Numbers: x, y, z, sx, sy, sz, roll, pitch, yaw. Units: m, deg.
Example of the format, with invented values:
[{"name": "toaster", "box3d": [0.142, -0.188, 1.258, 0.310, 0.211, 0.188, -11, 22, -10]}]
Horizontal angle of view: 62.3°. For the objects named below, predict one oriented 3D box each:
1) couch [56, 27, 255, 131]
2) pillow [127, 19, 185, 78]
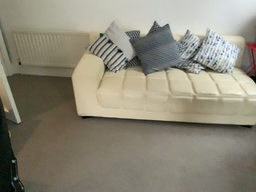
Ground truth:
[{"name": "couch", "box3d": [0.380, -0.270, 2.500, 2.020, 0.710, 1.010, 4, 33, 4]}, {"name": "pillow", "box3d": [0.320, -0.530, 2.430, 0.480, 0.450, 0.150, -31, 26, 23]}]
